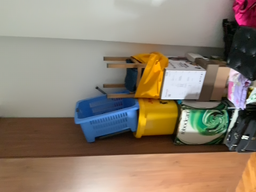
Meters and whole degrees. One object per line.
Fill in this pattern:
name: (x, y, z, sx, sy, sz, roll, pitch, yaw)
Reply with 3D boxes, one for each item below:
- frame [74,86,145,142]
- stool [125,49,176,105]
frame: (-0.200, 0.160, 2.090, 0.490, 0.600, 0.320, -107, 20, -61)
stool: (0.180, -0.190, 2.000, 0.440, 0.340, 0.390, -109, 22, -64)
